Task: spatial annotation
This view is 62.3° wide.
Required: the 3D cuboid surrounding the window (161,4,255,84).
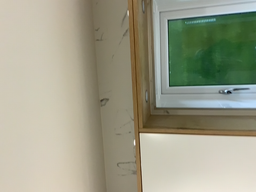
[{"bbox_3d":[0.580,-0.300,1.280,0.050,0.740,0.440,-33,-58,-73],"label":"window"}]
